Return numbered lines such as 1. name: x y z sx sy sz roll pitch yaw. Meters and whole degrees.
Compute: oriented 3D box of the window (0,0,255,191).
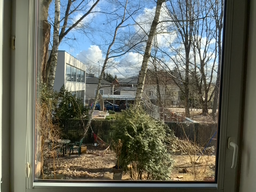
1. window: 0.000 0.210 1.010 1.170 2.590 0.140 2 3 -5
